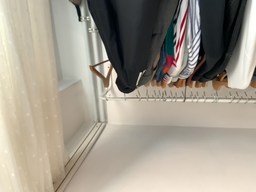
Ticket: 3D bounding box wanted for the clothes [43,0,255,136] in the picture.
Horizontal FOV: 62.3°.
[{"bbox_3d":[0.180,-0.470,0.850,0.790,1.020,0.620,3,-162,16],"label":"clothes"}]
